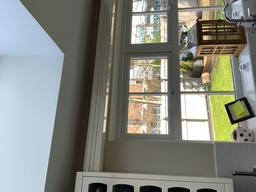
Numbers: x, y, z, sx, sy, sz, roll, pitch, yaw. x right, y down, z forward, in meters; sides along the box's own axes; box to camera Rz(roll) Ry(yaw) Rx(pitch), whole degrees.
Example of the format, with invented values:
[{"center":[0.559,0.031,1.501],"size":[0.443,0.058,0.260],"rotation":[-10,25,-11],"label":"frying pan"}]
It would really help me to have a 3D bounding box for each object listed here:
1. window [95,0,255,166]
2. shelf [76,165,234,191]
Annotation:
[{"center":[0.400,-0.400,1.900],"size":[0.280,1.190,1.910],"rotation":[67,-156,-71],"label":"window"},{"center":[0.140,0.510,1.230],"size":[0.350,0.780,0.180],"rotation":[68,-157,-71],"label":"shelf"}]
